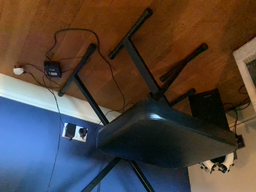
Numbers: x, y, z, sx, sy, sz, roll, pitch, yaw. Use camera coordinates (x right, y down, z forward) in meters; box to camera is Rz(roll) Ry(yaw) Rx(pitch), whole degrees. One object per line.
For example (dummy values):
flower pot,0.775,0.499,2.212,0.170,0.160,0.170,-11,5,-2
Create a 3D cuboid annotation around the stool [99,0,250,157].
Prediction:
stool,0.160,-0.050,0.880,0.420,0.460,0.330,20,143,-27
